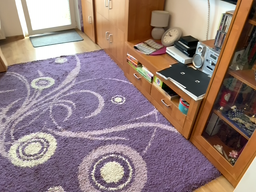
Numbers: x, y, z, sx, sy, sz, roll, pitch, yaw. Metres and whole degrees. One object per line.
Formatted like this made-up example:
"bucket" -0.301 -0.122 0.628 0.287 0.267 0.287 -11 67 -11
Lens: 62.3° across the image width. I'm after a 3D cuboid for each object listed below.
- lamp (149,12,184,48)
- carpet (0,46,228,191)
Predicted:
"lamp" 0.410 -0.730 2.330 0.200 0.290 0.290 -13 41 -22
"carpet" -0.550 0.140 2.050 1.610 0.050 2.390 -17 42 -26
